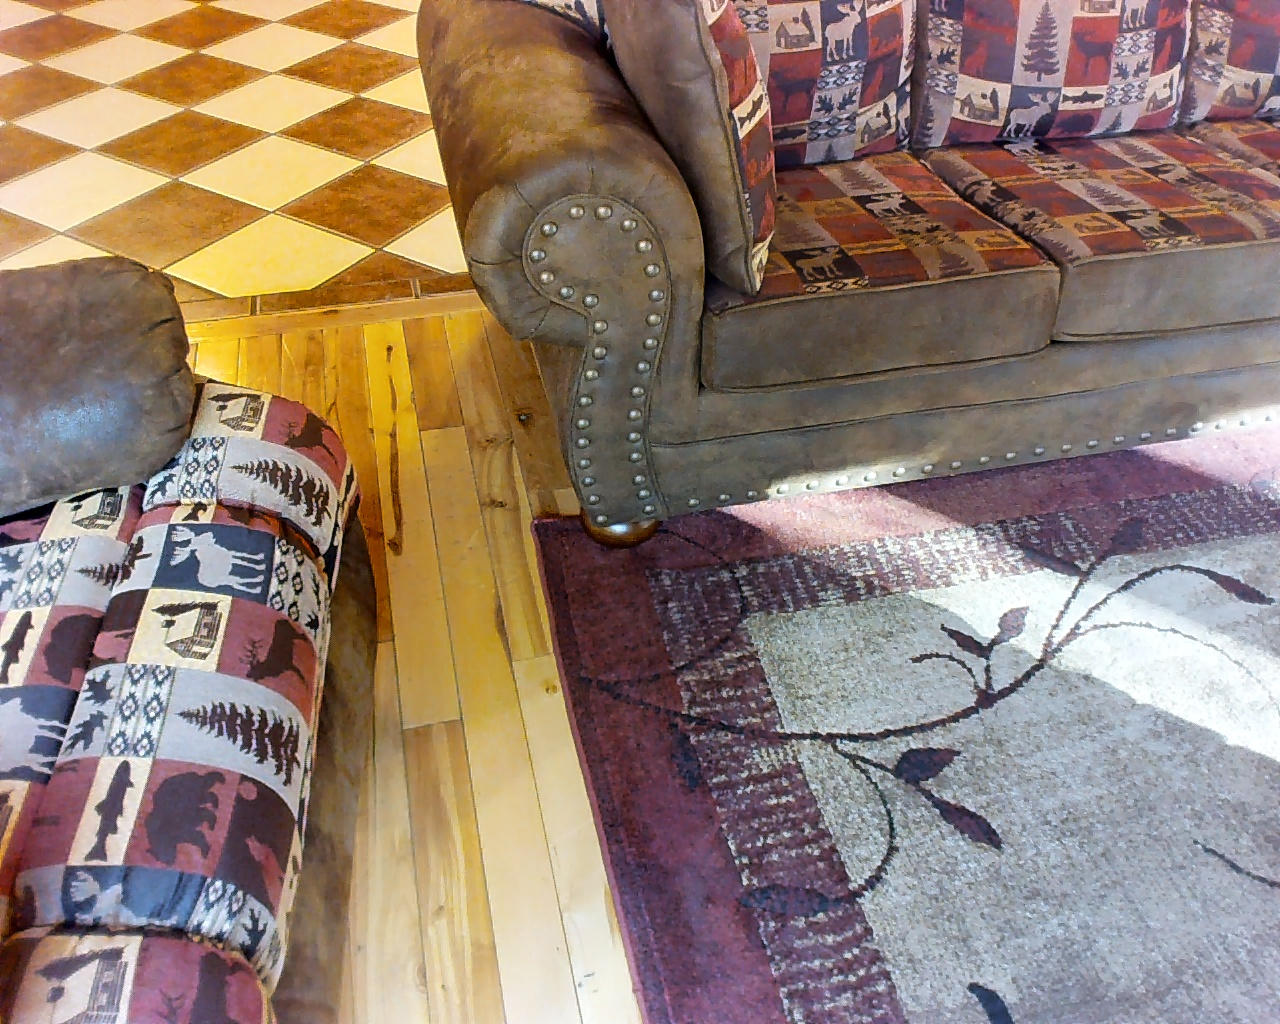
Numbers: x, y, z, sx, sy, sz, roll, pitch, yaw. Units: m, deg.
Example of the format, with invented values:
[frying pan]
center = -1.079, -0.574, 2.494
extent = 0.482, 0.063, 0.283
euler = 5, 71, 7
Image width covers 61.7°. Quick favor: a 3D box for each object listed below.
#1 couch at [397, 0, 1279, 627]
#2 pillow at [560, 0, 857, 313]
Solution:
[couch]
center = 0.810, -0.670, 1.920
extent = 2.319, 0.860, 1.030
euler = -10, 42, -12
[pillow]
center = 0.060, -0.620, 1.510
extent = 0.230, 0.420, 0.560
euler = -10, 42, -12
